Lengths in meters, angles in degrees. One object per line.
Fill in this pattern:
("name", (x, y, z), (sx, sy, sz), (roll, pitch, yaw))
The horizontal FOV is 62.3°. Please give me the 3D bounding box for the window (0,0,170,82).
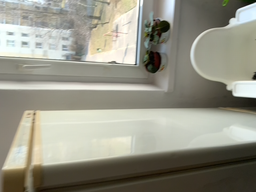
("window", (-0.450, -0.480, 1.050), (0.140, 1.450, 0.780), (-171, 82, -67))
